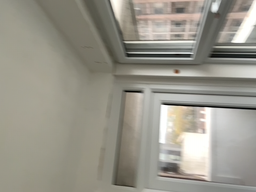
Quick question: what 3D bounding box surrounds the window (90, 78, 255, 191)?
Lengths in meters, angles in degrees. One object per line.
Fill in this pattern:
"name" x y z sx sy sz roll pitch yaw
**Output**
"window" 0.900 0.300 1.280 0.110 2.220 0.740 62 -147 -72
